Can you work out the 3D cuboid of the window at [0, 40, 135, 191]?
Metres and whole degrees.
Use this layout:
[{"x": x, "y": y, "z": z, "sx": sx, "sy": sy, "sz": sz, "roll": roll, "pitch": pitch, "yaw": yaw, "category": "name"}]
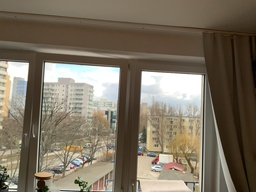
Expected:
[{"x": -0.770, "y": 0.320, "z": 1.970, "sx": 1.580, "sy": 1.610, "sz": 0.160, "roll": 3, "pitch": -5, "yaw": -3, "category": "window"}]
